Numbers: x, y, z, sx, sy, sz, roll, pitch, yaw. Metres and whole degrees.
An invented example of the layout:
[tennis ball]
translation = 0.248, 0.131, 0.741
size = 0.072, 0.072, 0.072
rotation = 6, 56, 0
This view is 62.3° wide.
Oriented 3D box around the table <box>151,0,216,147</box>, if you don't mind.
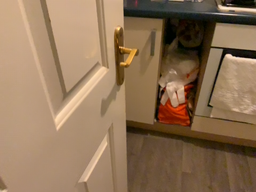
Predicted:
[table]
translation = 0.350, -0.190, 1.510
size = 0.240, 0.940, 0.590
rotation = 7, 38, 9
